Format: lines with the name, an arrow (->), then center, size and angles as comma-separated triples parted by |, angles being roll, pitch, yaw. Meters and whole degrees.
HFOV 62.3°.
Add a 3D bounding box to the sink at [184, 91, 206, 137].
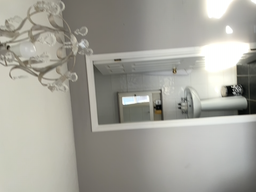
sink -> 0.990, 0.250, 3.170 | 0.390, 0.190, 0.630 | -85, -9, -86
